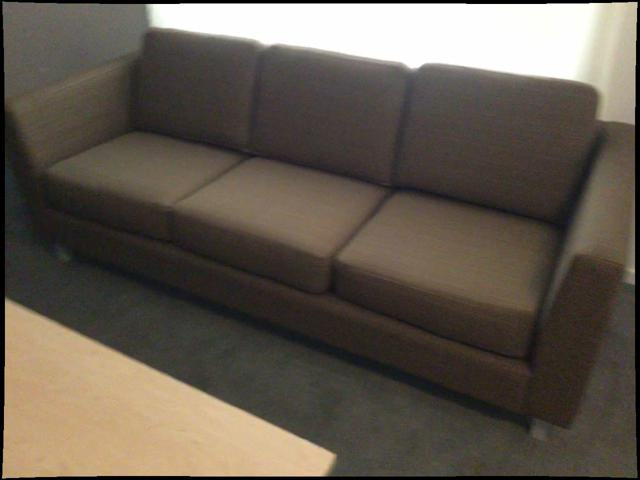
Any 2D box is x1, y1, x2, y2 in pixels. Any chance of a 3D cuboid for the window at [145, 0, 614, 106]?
[{"bbox_3d":[0.090,-1.103,1.970,1.777,1.002,0.150,15,32,24],"label":"window"}]
